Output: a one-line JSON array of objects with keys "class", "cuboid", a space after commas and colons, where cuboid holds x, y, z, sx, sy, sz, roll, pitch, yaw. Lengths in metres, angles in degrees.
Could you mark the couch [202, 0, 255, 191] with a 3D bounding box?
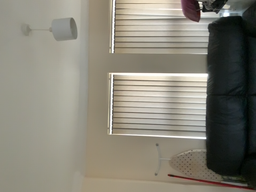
[{"class": "couch", "cuboid": [1.390, -0.020, 2.240, 0.880, 0.890, 1.930, 24, -112, -86]}]
